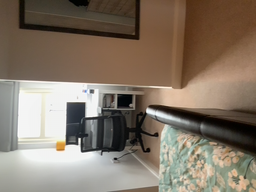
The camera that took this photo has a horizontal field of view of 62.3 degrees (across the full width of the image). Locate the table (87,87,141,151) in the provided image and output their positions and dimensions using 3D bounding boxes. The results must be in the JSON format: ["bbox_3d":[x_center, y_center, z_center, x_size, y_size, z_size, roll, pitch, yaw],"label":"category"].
[{"bbox_3d":[-0.250,0.340,3.470,0.550,0.730,0.940,-169,82,-70],"label":"table"}]

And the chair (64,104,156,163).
[{"bbox_3d":[-0.280,0.460,2.930,0.640,1.120,0.630,-173,85,-71],"label":"chair"}]
